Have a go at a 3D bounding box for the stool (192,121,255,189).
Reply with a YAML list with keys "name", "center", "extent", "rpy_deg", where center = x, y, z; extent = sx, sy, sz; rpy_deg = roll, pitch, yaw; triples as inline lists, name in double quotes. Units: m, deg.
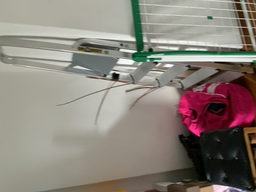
- name: "stool"
  center: [0.730, 0.350, 1.350]
  extent: [0.300, 0.480, 0.340]
  rpy_deg: [145, 122, -63]
